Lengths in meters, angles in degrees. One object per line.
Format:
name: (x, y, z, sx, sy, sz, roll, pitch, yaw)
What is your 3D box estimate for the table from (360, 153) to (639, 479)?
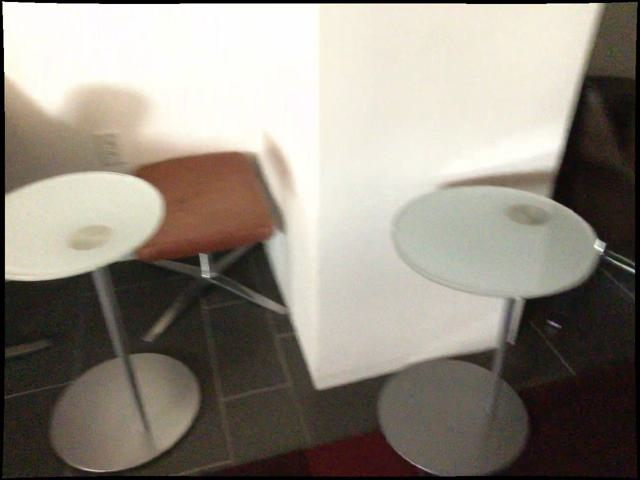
table: (0.409, 0.241, 1.410, 0.449, 0.691, 0.470, -12, 42, -14)
